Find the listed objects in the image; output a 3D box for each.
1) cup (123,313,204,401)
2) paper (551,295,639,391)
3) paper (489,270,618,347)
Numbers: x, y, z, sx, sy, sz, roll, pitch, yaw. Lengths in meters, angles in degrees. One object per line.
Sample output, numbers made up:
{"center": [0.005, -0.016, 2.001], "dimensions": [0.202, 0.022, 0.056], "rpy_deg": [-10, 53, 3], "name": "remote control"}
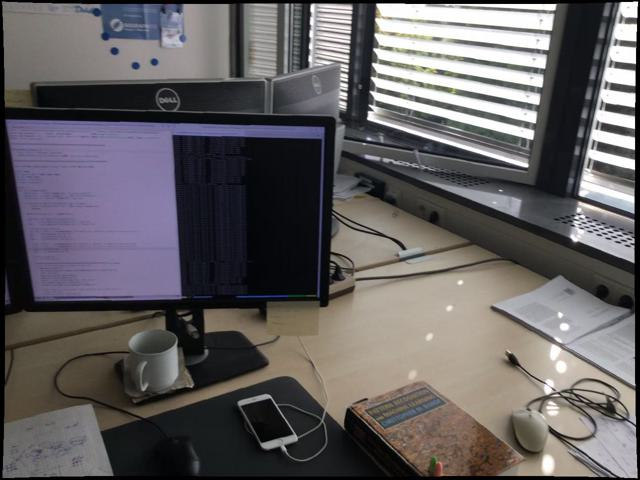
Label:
{"center": [-0.300, 0.220, 1.110], "dimensions": [0.110, 0.090, 0.120], "rpy_deg": [-14, 29, -32], "name": "cup"}
{"center": [0.729, 0.230, 1.360], "dimensions": [0.300, 0.040, 0.210], "rpy_deg": [-14, 29, -32], "name": "paper"}
{"center": [0.609, 0.170, 1.510], "dimensions": [0.280, 0.050, 0.180], "rpy_deg": [-14, 29, -32], "name": "paper"}
